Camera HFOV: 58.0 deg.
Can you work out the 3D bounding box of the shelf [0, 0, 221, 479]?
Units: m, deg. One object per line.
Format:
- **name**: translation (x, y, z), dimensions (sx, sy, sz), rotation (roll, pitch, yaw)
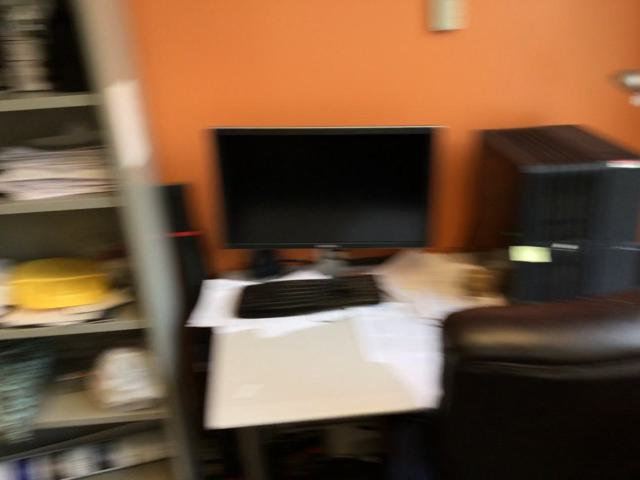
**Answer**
- **shelf**: translation (-0.900, -0.060, 1.550), dimensions (1.060, 2.020, 0.490), rotation (-3, 22, -5)
